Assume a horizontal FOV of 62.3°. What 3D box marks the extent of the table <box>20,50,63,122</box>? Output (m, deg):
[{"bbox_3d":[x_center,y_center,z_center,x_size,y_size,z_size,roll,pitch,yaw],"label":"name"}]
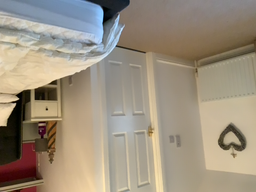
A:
[{"bbox_3d":[-1.100,-0.090,2.670,0.340,0.780,0.530,2,171,-40],"label":"table"}]
